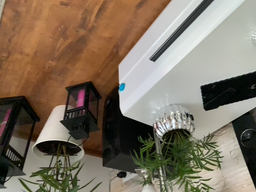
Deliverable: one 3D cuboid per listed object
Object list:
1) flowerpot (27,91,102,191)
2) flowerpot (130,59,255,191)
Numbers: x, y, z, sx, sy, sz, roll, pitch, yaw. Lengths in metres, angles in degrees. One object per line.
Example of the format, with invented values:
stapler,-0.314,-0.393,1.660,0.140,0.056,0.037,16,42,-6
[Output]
flowerpot,-0.360,0.330,1.230,0.230,0.560,0.380,25,132,-29
flowerpot,0.200,0.130,0.750,0.310,0.390,0.200,27,131,-31
